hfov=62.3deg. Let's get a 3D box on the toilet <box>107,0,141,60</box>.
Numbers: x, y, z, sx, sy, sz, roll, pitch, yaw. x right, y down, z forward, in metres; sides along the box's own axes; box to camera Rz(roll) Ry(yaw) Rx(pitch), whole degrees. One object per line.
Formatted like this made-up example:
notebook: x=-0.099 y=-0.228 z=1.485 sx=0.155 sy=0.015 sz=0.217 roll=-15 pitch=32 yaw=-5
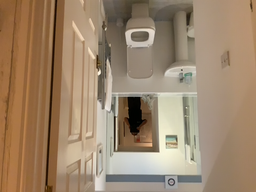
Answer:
toilet: x=-0.060 y=-0.910 z=2.580 sx=0.360 sy=0.790 sz=0.590 roll=1 pitch=175 yaw=-4
